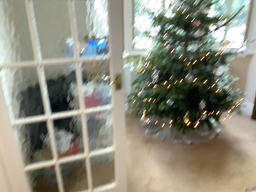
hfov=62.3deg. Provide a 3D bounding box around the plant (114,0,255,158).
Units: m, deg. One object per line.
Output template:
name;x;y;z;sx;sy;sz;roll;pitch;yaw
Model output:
plant;0.720;-0.550;2.670;1.510;1.930;1.300;-6;23;-13
